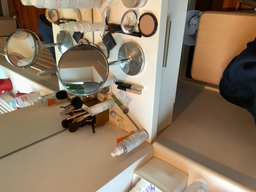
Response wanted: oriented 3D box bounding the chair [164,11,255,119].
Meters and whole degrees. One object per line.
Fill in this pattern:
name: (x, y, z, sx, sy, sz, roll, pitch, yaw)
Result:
chair: (0.540, -0.200, 0.940, 0.430, 0.660, 0.320, 20, 119, 38)
